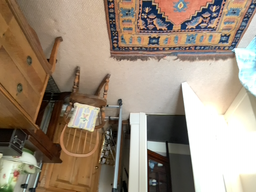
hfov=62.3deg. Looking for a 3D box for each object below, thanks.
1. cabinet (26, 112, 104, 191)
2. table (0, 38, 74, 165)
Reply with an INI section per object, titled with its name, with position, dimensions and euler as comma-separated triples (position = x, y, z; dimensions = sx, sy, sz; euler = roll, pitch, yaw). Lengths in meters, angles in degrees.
[cabinet]
position = -0.740, 0.810, 2.820
dimensions = 0.640, 0.940, 0.740
euler = 1, 147, 3
[table]
position = -0.870, 0.100, 1.890
dimensions = 0.430, 0.750, 0.920
euler = 1, 147, 3
